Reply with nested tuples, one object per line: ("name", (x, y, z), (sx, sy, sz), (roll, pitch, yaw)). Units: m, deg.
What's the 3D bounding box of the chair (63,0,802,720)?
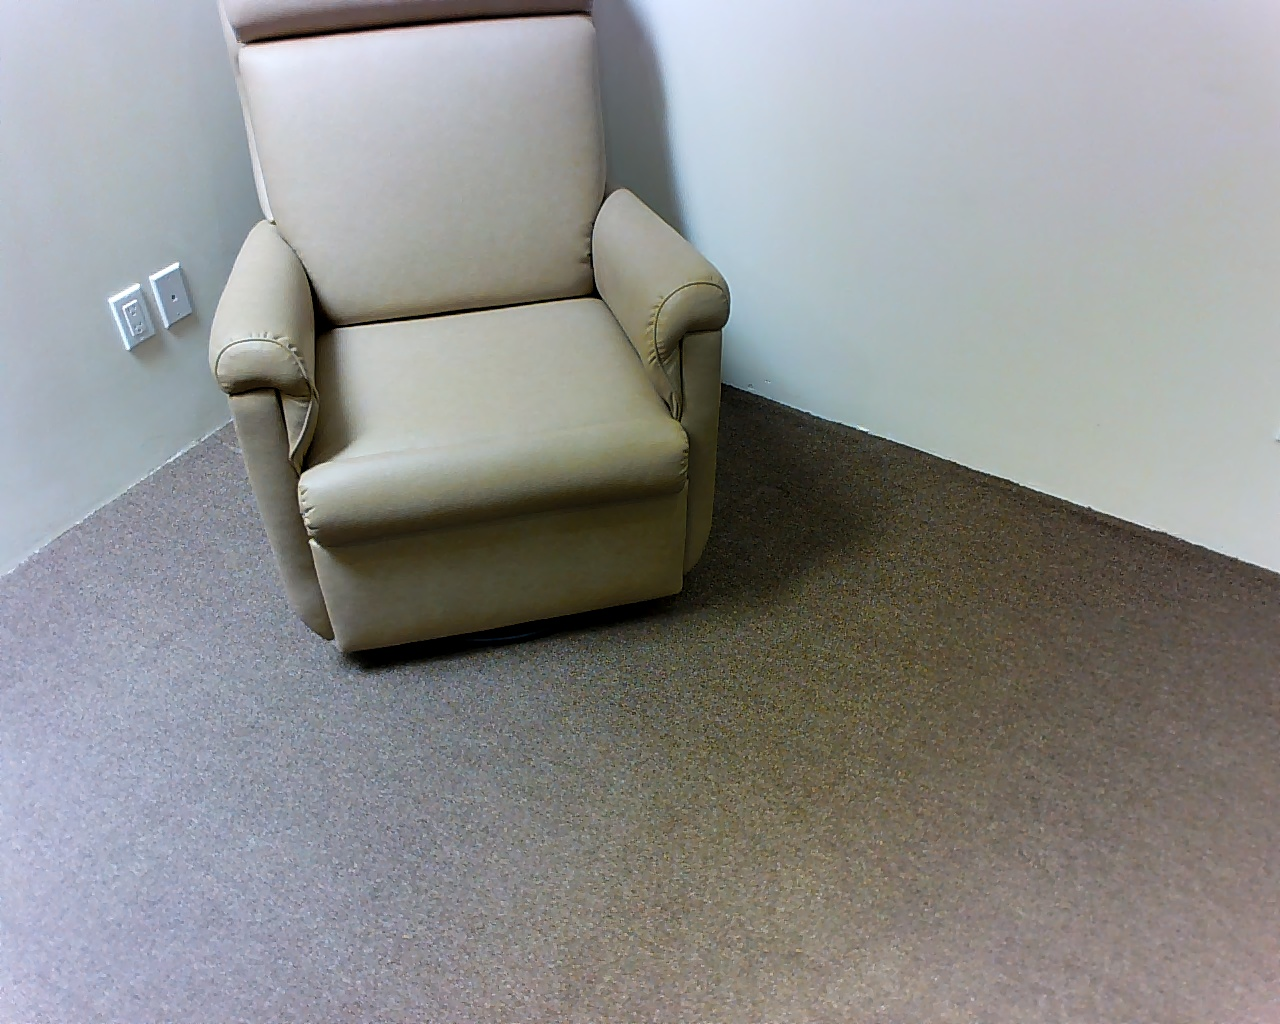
("chair", (-0.330, -0.430, 1.890), (0.810, 1.040, 1.010), (-9, 42, -11))
